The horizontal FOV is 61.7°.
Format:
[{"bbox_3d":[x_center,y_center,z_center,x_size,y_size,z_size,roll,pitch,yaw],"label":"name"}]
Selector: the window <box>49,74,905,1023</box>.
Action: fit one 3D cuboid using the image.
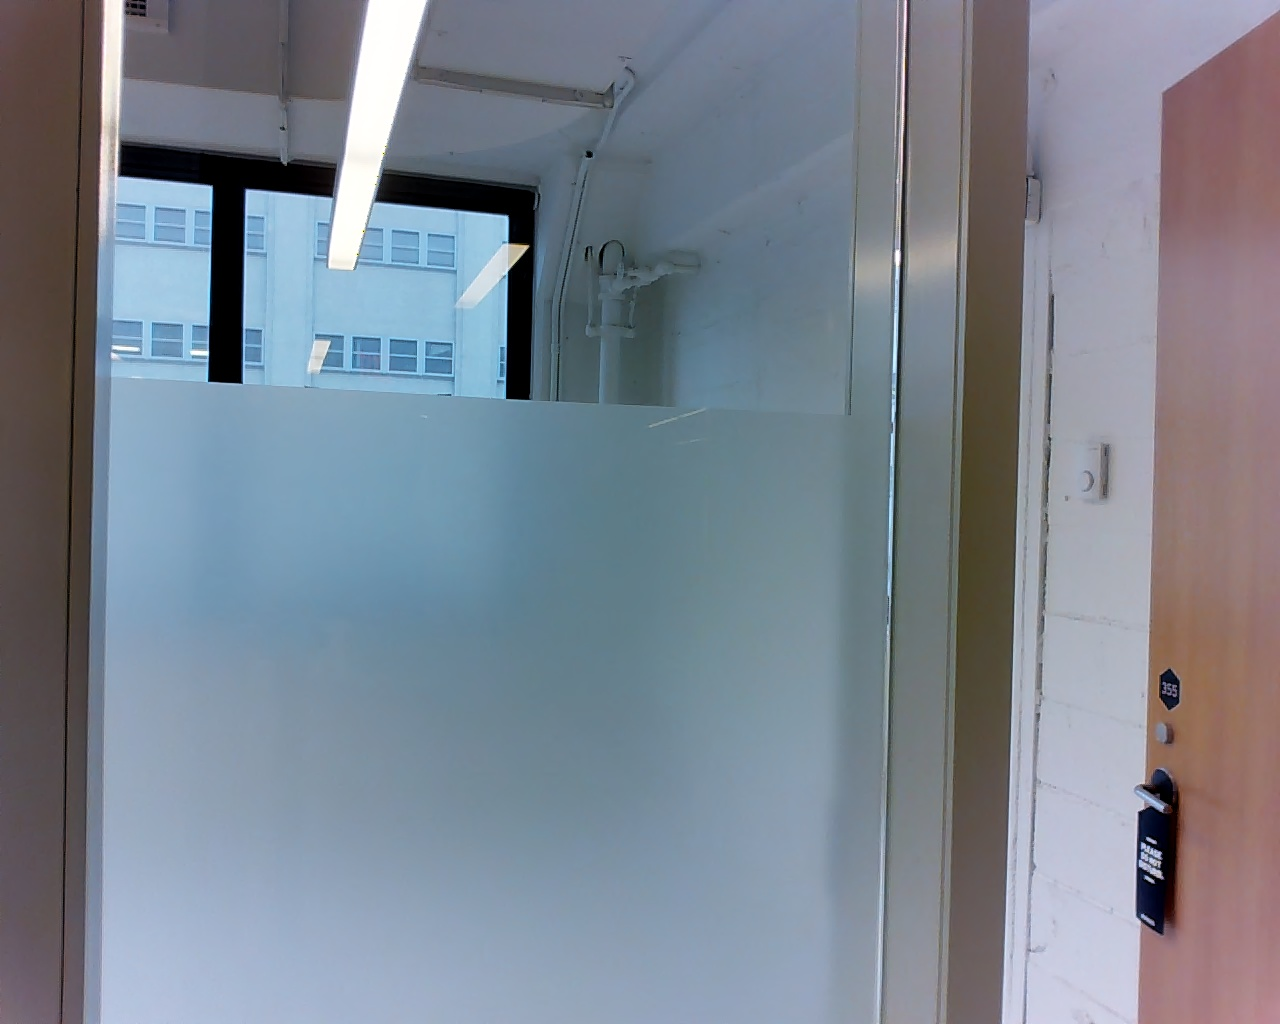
[{"bbox_3d":[-0.070,0.260,0.600,0.460,0.930,0.030,1,0,-18],"label":"window"}]
